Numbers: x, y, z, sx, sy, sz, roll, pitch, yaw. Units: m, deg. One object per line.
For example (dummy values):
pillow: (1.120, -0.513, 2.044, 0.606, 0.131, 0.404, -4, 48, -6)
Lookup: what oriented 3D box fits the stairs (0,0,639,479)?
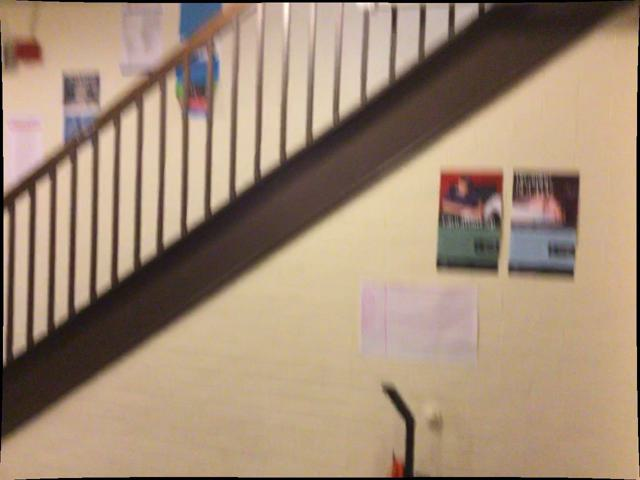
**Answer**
stairs: (-0.589, 0.090, 2.810, 3.887, 3.023, 1.240, 5, -1, 16)
